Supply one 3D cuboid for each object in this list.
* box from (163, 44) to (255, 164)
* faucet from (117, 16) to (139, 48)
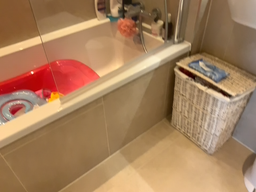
[{"bbox_3d":[0.480,0.040,1.260,0.310,0.510,0.390,-27,48,-27],"label":"box"},{"bbox_3d":[0.000,-0.440,1.450,0.100,0.160,0.110,-27,48,-27],"label":"faucet"}]
